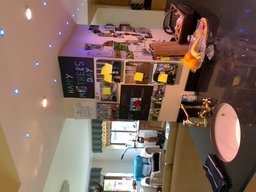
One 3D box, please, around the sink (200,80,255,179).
[{"bbox_3d":[0.730,0.210,1.410,0.460,0.250,0.460,-94,7,-56],"label":"sink"}]
